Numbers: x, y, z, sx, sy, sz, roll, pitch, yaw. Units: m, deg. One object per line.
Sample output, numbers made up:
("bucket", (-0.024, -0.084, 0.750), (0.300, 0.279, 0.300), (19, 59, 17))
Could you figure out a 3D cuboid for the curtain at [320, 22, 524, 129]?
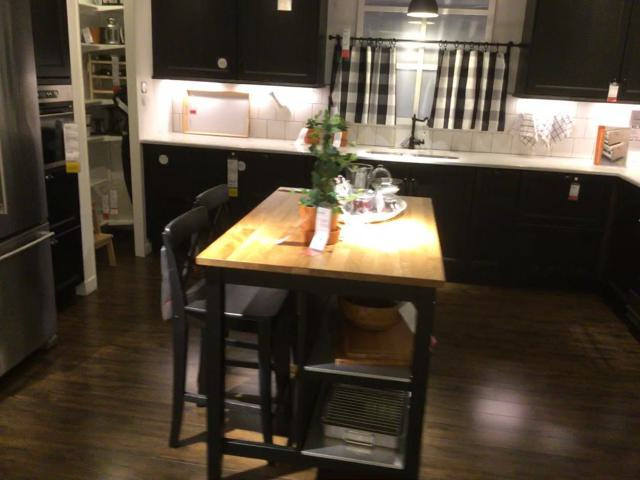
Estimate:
("curtain", (0.710, -1.210, 4.240), (1.400, 0.700, 0.150), (5, 17, 10))
